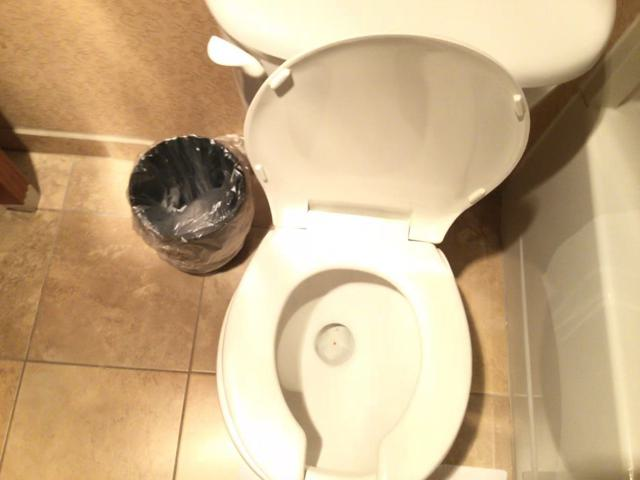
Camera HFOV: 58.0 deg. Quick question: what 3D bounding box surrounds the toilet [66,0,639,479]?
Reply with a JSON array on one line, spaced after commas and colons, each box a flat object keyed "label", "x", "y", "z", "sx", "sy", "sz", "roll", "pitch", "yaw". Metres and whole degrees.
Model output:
[{"label": "toilet", "x": 0.070, "y": 0.040, "z": 0.870, "sx": 0.490, "sy": 0.770, "sz": 0.680, "roll": 5, "pitch": 69, "yaw": -2}]
